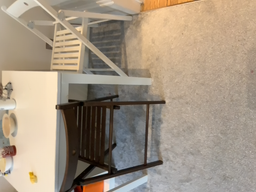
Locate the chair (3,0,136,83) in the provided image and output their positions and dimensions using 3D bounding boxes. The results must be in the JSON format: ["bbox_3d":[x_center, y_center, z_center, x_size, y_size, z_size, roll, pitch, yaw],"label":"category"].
[{"bbox_3d":[-0.410,-0.360,1.550,0.560,0.730,0.460,9,97,42],"label":"chair"}]
